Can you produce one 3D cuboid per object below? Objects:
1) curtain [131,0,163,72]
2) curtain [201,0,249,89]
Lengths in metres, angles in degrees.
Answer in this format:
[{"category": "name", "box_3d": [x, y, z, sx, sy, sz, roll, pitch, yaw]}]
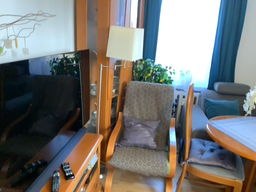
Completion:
[{"category": "curtain", "box_3d": [0.260, -1.030, 2.760, 0.340, 1.400, 0.120, 7, 17, 9]}, {"category": "curtain", "box_3d": [1.230, -0.890, 2.640, 0.350, 1.580, 0.130, 7, 17, 9]}]
